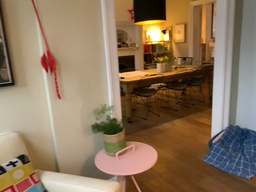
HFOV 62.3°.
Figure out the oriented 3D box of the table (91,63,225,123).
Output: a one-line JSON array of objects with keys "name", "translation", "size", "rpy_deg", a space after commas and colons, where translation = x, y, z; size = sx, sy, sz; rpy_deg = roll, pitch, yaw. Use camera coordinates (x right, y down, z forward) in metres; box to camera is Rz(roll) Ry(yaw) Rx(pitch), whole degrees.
[{"name": "table", "translation": [0.690, -0.220, 4.700], "size": [2.630, 0.730, 1.340], "rpy_deg": [-10, 16, -29]}]
